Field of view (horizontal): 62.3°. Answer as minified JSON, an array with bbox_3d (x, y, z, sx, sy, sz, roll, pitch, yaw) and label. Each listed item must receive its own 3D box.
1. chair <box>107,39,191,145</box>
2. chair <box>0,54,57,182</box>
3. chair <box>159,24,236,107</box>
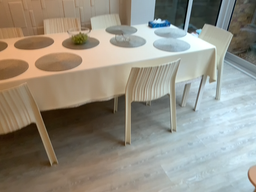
[{"bbox_3d":[0.150,-0.060,2.040,0.540,0.770,0.530,-12,37,-19],"label":"chair"},{"bbox_3d":[-0.930,0.170,1.660,0.540,0.770,0.530,-12,37,-19],"label":"chair"},{"bbox_3d":[0.770,-0.380,2.540,0.530,0.770,0.540,-11,36,-18],"label":"chair"}]
